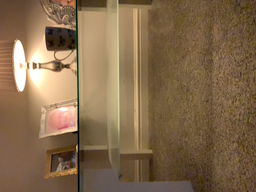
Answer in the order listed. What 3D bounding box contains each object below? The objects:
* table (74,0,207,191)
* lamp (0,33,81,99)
[{"bbox_3d":[-0.020,-0.070,0.950,0.690,0.390,1.090,-174,83,-78],"label":"table"},{"bbox_3d":[-0.500,-0.140,1.070,0.220,0.500,0.290,-168,77,-78],"label":"lamp"}]
